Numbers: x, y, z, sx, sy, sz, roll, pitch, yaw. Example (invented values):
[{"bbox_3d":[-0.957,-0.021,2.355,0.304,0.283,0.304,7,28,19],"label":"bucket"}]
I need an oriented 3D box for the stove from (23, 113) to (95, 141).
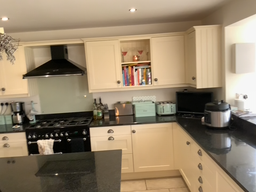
[{"bbox_3d":[-1.020,0.460,3.310,0.920,0.200,0.630,-4,8,-1],"label":"stove"}]

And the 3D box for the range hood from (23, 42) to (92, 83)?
[{"bbox_3d":[-1.080,-0.520,3.360,0.910,0.550,0.410,-4,8,-3],"label":"range hood"}]
